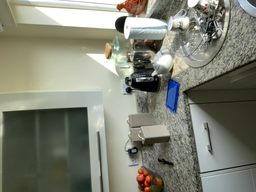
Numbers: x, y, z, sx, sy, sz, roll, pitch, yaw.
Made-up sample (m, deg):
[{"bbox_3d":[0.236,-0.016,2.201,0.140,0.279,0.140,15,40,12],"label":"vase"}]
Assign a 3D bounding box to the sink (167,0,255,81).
[{"bbox_3d":[0.430,-0.350,1.170,0.460,0.180,0.440,149,117,-71],"label":"sink"}]
